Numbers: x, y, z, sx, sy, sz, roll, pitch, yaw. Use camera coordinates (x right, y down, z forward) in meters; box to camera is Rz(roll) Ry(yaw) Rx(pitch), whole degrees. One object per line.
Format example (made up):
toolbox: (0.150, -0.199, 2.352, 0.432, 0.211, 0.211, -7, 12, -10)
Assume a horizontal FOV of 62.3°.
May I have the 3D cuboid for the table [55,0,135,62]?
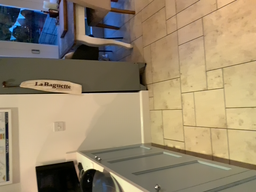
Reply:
table: (-0.530, -1.470, 2.970, 0.850, 0.810, 1.780, -12, 81, 60)
